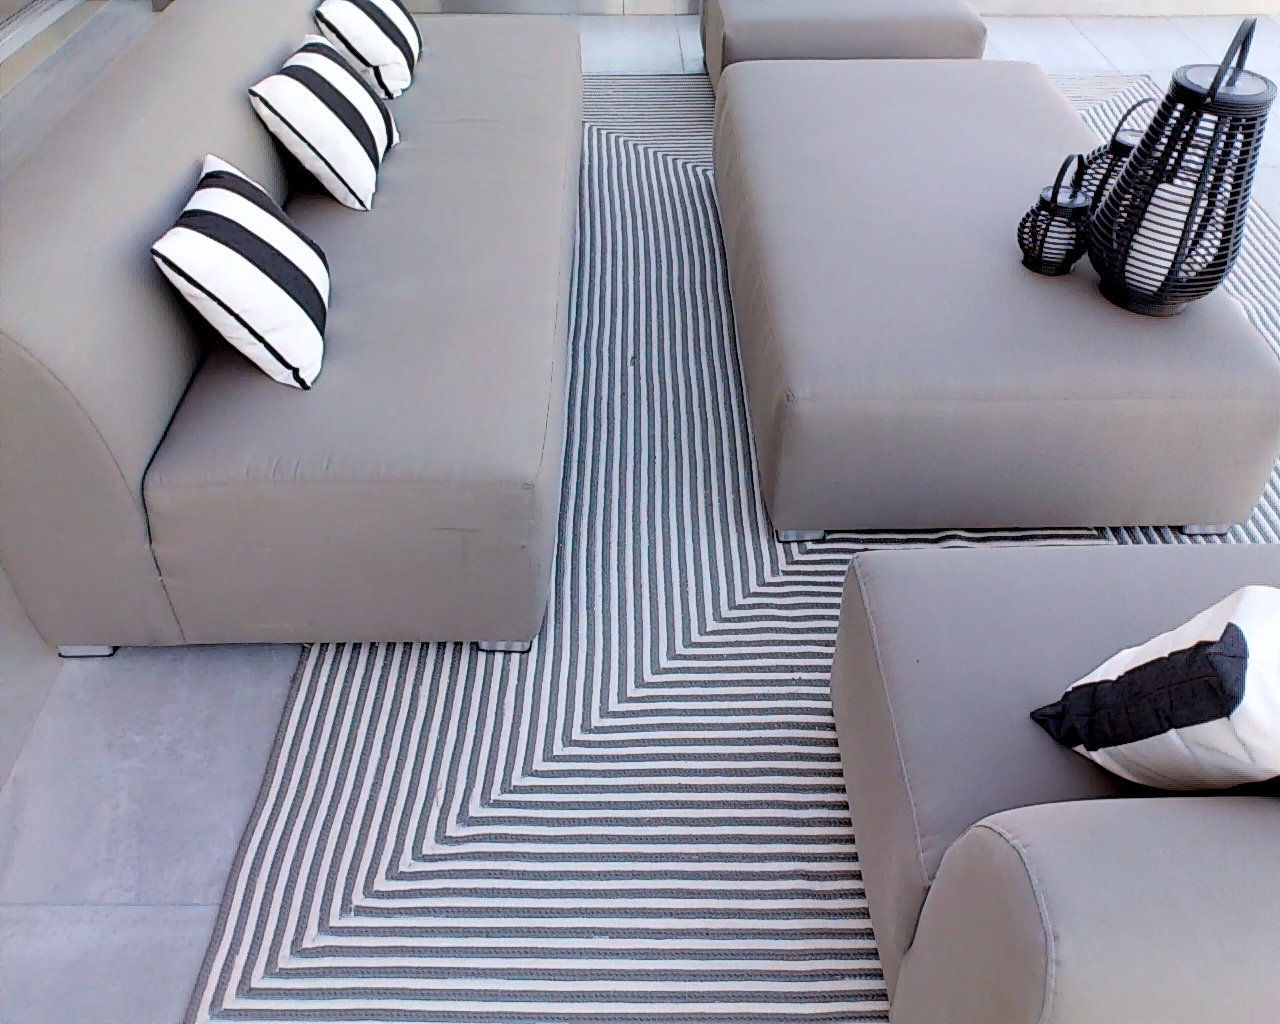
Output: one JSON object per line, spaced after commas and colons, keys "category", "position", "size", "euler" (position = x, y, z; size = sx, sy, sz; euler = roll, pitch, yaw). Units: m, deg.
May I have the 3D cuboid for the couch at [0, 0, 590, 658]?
{"category": "couch", "position": [-0.680, -0.890, 2.760], "size": [1.020, 0.810, 2.590], "euler": [0, 42, -1]}

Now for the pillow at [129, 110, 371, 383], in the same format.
{"category": "pillow", "position": [-0.720, -0.520, 2.070], "size": [0.280, 0.280, 0.500], "euler": [0, 48, -1]}

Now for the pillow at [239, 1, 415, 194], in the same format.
{"category": "pillow", "position": [-0.740, -1.020, 2.620], "size": [0.270, 0.270, 0.520], "euler": [0, 42, -1]}

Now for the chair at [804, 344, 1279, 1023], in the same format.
{"category": "chair", "position": [0.800, 0.330, 1.470], "size": [0.960, 0.700, 0.950], "euler": [0, 42, -1]}
